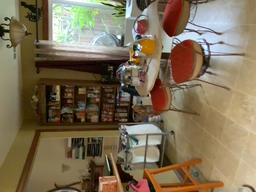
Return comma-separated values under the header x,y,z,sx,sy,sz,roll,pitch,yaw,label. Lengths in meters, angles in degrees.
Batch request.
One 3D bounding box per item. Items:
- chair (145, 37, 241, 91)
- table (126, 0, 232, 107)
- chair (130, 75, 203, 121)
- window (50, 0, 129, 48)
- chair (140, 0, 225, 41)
x,y,z,sx,sy,sz,roll,pitch,yaw,label
0.630,-0.340,2.180,0.460,0.760,0.440,-130,44,-67,chair
0.510,-0.550,2.700,1.070,0.740,1.050,-127,41,-66,table
0.470,0.020,2.750,0.440,0.760,0.460,-128,42,-66,chair
-0.680,-1.490,3.840,0.100,1.370,1.110,-130,43,-67,window
0.590,-0.910,2.400,0.440,0.760,0.460,-128,42,-66,chair
